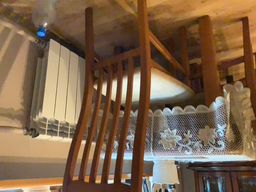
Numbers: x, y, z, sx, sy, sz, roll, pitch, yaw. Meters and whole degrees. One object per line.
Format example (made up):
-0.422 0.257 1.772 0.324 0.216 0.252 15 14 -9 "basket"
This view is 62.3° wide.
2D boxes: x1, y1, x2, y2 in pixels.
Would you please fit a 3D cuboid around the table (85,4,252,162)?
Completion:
0.410 0.110 1.670 0.850 0.750 1.190 -10 159 28 "table"

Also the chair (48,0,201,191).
0.020 0.030 1.060 0.420 0.980 0.560 -13 157 35 "chair"
